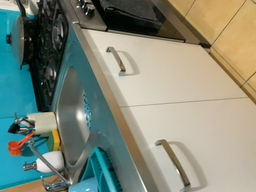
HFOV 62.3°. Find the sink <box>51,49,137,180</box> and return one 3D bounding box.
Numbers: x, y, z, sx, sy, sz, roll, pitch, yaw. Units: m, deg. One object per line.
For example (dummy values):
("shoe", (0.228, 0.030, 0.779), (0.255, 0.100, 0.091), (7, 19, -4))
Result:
("sink", (-0.180, 0.080, 0.900), (0.390, 0.150, 0.370), (-59, 46, 40))
